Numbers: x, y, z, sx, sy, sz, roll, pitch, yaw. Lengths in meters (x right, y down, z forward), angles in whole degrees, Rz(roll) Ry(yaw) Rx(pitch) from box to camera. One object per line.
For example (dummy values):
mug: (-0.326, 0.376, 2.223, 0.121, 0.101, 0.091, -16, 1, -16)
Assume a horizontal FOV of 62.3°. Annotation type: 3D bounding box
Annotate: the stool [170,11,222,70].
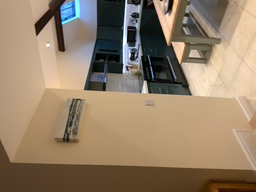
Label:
stool: (1.190, -1.110, 4.000, 1.650, 0.470, 0.370, -91, 6, -50)
